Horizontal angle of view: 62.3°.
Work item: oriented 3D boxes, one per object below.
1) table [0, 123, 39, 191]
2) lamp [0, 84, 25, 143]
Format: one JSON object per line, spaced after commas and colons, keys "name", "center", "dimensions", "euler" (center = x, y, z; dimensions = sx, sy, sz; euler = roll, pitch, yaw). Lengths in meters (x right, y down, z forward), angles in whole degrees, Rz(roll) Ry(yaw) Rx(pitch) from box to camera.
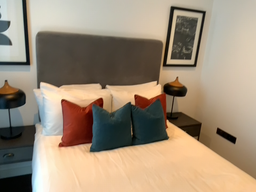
{"name": "table", "center": [-1.140, 0.660, 2.070], "dimensions": [0.460, 0.620, 0.440], "euler": [-3, 18, -23]}
{"name": "lamp", "center": [-1.110, 0.150, 1.950], "dimensions": [0.250, 0.450, 0.290], "euler": [-3, 18, -24]}
